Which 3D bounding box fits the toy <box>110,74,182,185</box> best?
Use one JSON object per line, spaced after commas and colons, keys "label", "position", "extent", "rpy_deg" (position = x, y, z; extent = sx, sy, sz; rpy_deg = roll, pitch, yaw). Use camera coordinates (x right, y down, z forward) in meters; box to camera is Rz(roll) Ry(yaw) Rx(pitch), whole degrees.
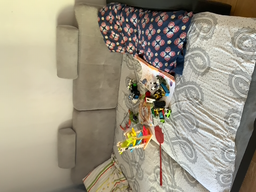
{"label": "toy", "position": [0.090, 0.240, 1.880], "extent": [0.780, 0.140, 0.660], "rpy_deg": [38, 127, 52]}
